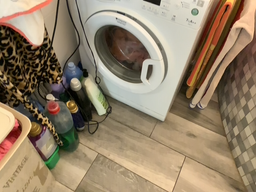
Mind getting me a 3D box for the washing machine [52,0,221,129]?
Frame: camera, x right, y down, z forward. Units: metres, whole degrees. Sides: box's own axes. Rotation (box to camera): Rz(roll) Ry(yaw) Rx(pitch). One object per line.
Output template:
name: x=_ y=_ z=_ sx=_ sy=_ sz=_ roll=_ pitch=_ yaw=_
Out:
washing machine: x=0.090 y=-0.390 z=1.220 sx=0.660 sy=0.820 sz=0.640 roll=25 pitch=58 yaw=13
